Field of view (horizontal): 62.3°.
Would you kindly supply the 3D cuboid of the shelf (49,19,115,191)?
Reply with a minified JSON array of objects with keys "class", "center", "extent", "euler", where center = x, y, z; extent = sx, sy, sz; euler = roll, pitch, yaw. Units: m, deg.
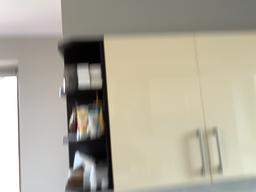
[{"class":"shelf","center":[-0.220,0.070,1.060],"extent":[0.230,0.780,0.340],"euler":[-4,-6,-9]}]
